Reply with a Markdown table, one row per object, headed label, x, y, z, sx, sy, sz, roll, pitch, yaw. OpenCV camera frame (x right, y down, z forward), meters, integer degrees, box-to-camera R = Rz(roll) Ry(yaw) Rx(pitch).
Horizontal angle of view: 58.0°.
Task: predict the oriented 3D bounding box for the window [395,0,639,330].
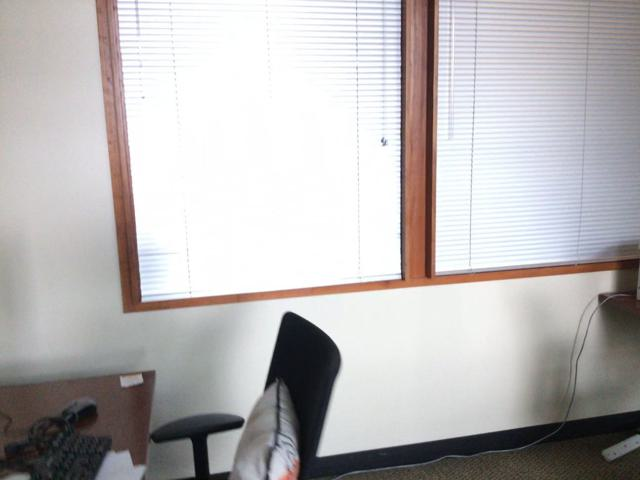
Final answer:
| label | x | y | z | sx | sy | sz | roll | pitch | yaw |
| --- | --- | --- | --- | --- | --- | --- | --- | --- | --- |
| window | 1.100 | -0.410 | 2.370 | 1.450 | 1.290 | 0.250 | -8 | 5 | -13 |

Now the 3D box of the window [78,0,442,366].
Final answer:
| label | x | y | z | sx | sy | sz | roll | pitch | yaw |
| --- | --- | --- | --- | --- | --- | --- | --- | --- | --- |
| window | -0.180 | -0.290 | 2.150 | 1.160 | 1.290 | 0.180 | -8 | 5 | -13 |
